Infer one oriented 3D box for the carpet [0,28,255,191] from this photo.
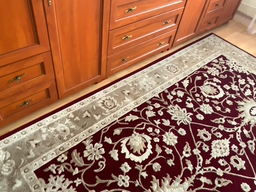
[{"bbox_3d":[0.710,0.340,1.580,2.950,0.060,2.040,-28,57,-31],"label":"carpet"}]
